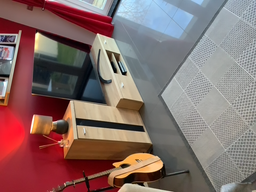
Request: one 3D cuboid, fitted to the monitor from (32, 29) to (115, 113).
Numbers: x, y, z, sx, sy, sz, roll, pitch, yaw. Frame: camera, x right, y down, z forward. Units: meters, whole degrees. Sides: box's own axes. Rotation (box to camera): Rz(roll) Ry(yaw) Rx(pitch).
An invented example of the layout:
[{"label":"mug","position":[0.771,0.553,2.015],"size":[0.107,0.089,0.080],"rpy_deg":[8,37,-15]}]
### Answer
[{"label":"monitor","position":[-0.750,-0.380,2.780],"size":[0.080,0.880,1.440],"rpy_deg":[-59,35,31]}]
